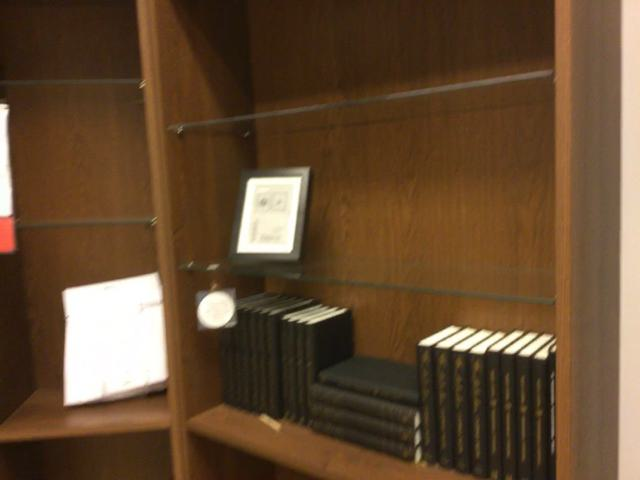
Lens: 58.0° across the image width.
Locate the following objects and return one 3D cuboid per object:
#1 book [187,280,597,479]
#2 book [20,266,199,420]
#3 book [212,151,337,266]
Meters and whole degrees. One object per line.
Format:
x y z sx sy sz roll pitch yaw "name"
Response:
0.090 0.250 1.080 0.740 0.270 0.220 2 8 38 "book"
-0.480 0.230 1.380 0.310 0.280 0.260 -4 7 -1 "book"
-0.090 -0.060 1.190 0.190 0.200 0.060 -10 28 20 "book"
